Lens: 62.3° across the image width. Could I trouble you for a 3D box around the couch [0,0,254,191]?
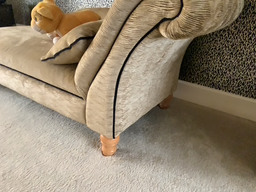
[{"bbox_3d":[-0.290,-0.320,1.260,1.630,0.710,0.790,19,29,30],"label":"couch"}]
